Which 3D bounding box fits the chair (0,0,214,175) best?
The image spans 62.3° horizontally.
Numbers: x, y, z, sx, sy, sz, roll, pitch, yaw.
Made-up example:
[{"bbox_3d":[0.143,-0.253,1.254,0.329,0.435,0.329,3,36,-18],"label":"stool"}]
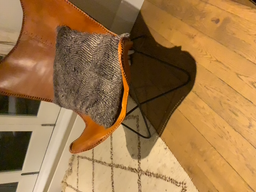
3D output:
[{"bbox_3d":[-0.250,-0.170,1.240,0.780,0.900,0.770,50,124,44],"label":"chair"}]
